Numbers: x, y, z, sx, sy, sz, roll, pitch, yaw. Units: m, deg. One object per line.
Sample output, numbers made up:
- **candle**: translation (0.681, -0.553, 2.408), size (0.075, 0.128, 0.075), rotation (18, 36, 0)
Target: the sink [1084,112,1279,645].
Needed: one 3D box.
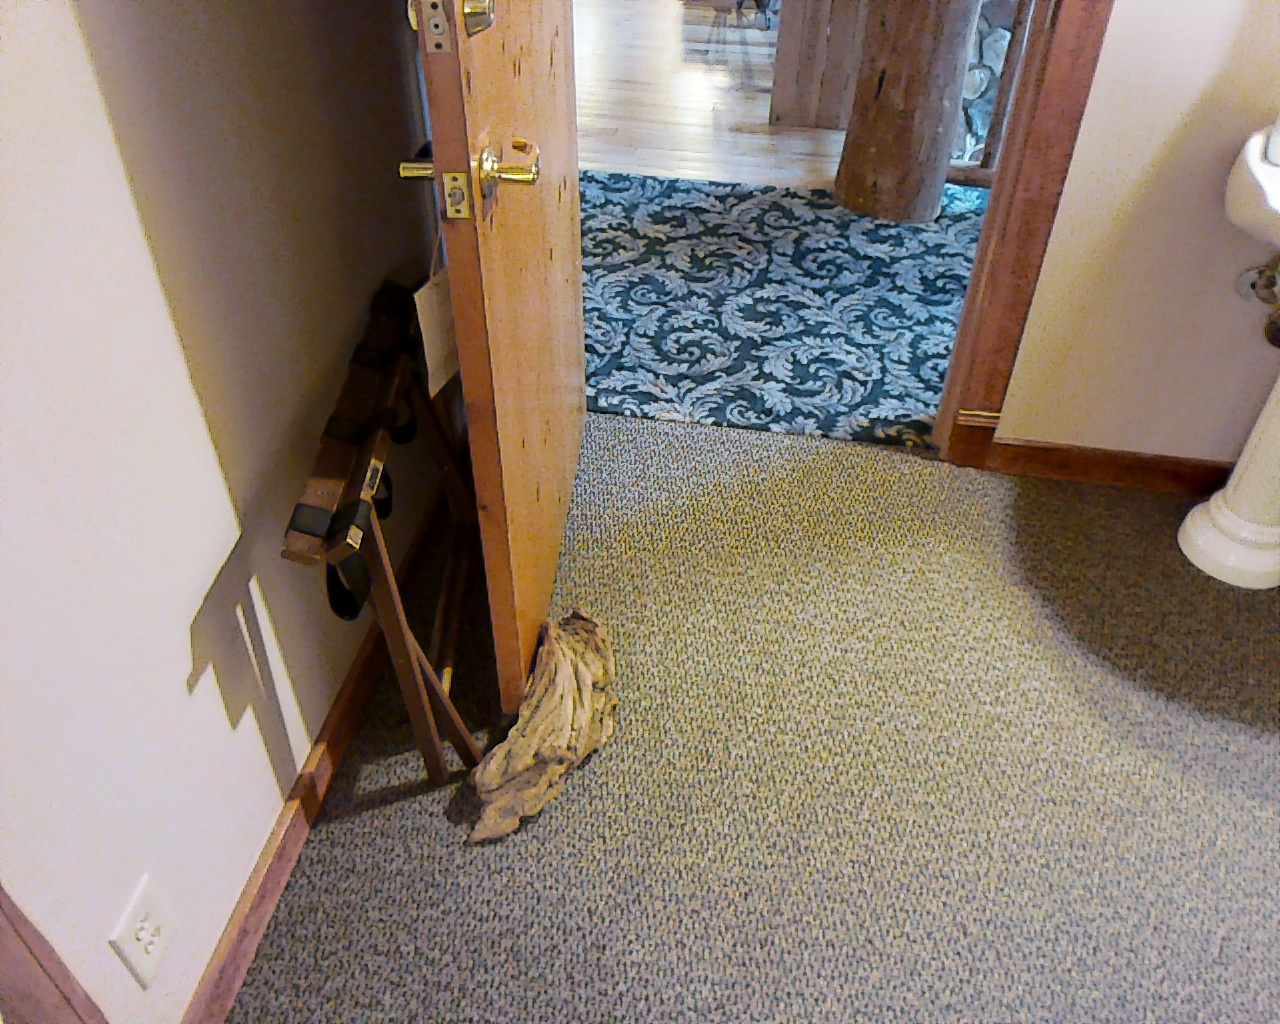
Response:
- **sink**: translation (1.320, -0.210, 2.010), size (0.650, 0.850, 0.480), rotation (7, 42, 7)
